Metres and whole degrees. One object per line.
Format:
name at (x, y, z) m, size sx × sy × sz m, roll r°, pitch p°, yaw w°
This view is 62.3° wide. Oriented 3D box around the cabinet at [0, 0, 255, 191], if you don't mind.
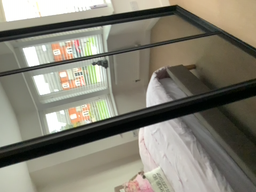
cabinet at (-0.150, 0.060, 1.660) m, size 2.420 × 2.340 × 0.650 m, roll -120°, pitch 22°, yaw -46°
